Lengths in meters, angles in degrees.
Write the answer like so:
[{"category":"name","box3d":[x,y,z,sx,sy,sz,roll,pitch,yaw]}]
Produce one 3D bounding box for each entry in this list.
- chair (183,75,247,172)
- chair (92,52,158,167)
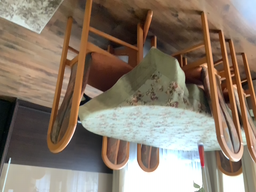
[{"category":"chair","box3d":[0.990,0.340,2.490,0.470,1.010,0.390,19,152,-35]},{"category":"chair","box3d":[-0.020,0.160,2.130,0.390,1.010,0.470,19,151,-36]}]
